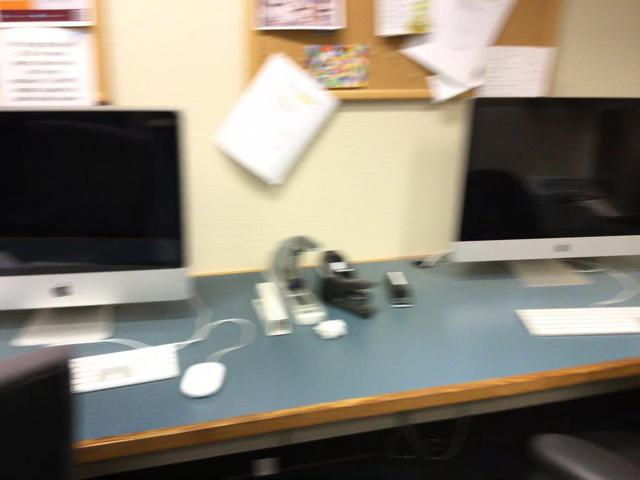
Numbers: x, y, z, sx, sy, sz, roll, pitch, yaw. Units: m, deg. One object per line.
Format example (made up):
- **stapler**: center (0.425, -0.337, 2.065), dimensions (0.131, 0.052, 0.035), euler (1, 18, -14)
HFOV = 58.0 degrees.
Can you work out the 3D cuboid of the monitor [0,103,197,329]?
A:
- **monitor**: center (-0.580, -0.060, 1.280), dimensions (0.570, 0.460, 0.160), euler (-4, 19, -16)
